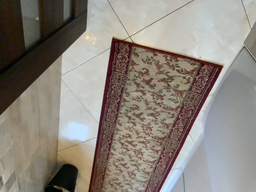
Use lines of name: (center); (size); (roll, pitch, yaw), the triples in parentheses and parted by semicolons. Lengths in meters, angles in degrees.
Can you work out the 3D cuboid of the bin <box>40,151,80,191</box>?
bin: (-0.650, 0.820, 2.060); (0.200, 0.440, 0.290); (15, 126, 0)
